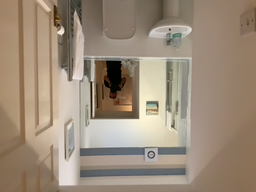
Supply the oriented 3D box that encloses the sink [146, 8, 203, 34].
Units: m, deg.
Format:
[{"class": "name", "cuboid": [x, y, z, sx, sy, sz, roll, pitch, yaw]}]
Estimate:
[{"class": "sink", "cuboid": [0.430, -0.720, 2.060, 0.460, 0.140, 0.350, 0, -177, -4]}]
